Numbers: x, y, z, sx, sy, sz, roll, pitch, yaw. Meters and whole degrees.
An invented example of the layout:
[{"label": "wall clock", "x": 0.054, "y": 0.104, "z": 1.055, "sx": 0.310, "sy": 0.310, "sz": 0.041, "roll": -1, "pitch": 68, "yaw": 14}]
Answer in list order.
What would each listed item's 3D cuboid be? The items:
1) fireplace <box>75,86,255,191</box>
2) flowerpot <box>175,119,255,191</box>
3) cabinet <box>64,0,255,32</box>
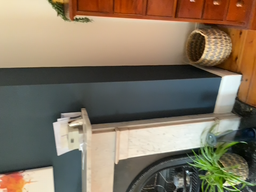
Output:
[{"label": "fireplace", "x": 0.260, "y": 0.830, "z": 1.540, "sx": 0.880, "sy": 1.140, "sz": 1.590, "roll": -136, "pitch": 47, "yaw": -63}, {"label": "flowerpot", "x": 0.640, "y": 0.460, "z": 1.610, "sx": 0.470, "sy": 0.300, "sz": 0.390, "roll": -136, "pitch": 47, "yaw": -63}, {"label": "cabinet", "x": 0.230, "y": -0.700, "z": 1.270, "sx": 0.520, "sy": 1.160, "sz": 0.530, "roll": -136, "pitch": 47, "yaw": -63}]
